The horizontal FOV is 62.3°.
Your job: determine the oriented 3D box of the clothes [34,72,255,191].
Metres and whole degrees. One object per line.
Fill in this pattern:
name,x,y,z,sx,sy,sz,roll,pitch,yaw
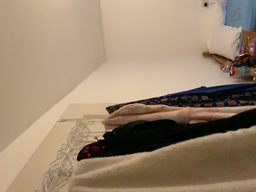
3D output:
clothes,0.500,0.080,0.650,0.580,1.320,0.160,-75,-17,-68
